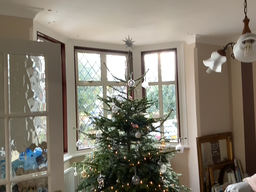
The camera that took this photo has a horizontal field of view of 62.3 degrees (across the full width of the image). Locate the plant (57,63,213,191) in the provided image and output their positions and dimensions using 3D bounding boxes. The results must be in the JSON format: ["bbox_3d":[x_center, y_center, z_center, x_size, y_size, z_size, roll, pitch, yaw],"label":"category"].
[{"bbox_3d":[0.020,0.690,2.740,1.510,1.930,1.300,-1,-1,-29],"label":"plant"}]
